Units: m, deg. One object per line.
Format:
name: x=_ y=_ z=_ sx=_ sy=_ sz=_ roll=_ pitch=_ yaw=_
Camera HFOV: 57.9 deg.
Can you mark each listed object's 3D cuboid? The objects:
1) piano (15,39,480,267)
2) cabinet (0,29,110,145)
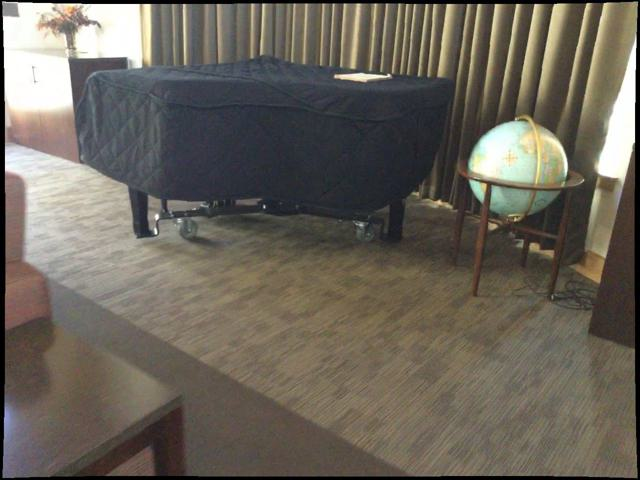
piano: x=-0.440 y=-0.761 z=3.630 sx=2.239 sy=0.741 sz=1.680 roll=18 pitch=27 yaw=32
cabinet: x=-2.807 y=-1.542 z=5.640 sx=1.359 sy=0.881 sz=0.700 roll=18 pitch=27 yaw=32
